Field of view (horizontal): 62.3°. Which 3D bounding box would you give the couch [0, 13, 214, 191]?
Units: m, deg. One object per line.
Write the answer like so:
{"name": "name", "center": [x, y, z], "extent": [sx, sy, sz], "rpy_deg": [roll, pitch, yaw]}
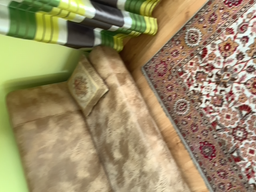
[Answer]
{"name": "couch", "center": [-0.160, 0.610, 1.520], "extent": [0.960, 0.860, 2.080], "rpy_deg": [-42, 64, 35]}
